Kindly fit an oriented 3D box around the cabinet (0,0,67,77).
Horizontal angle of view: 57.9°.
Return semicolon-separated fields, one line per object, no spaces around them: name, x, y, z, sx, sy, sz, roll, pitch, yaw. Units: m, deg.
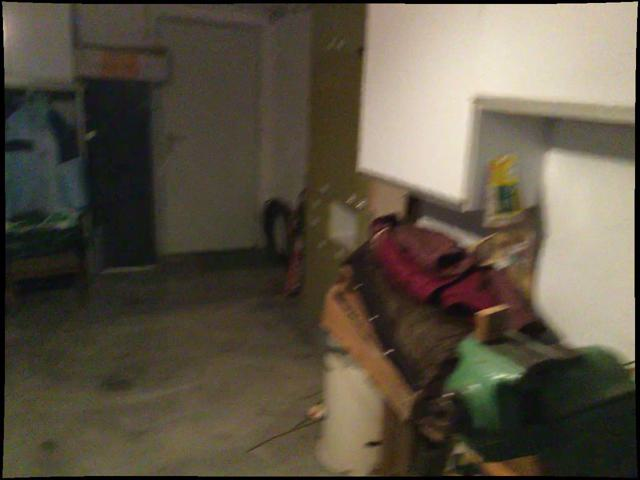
cabinet;-2.098;-1.401;3.690;0.829;0.661;0.150;-6;19;-27

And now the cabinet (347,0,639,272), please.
cabinet;0.549;-0.430;1.700;0.340;0.661;1.210;-6;19;-27

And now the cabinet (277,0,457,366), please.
cabinet;0.180;-0.490;3.410;0.400;2.092;1.140;-6;19;-27

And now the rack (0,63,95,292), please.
rack;-2.168;-0.400;3.850;1.129;1.491;0.250;-6;19;-27

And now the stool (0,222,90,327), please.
stool;-1.828;0.200;3.760;0.530;0.470;0.560;-6;19;-27
